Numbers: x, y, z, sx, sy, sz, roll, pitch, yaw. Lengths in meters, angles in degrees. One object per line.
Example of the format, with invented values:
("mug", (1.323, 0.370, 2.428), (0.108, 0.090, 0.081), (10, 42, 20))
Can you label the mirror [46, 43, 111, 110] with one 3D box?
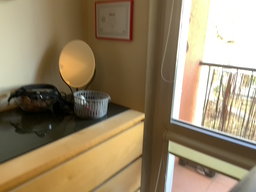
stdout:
("mirror", (-0.300, -0.140, 1.320), (0.280, 0.340, 0.260), (15, 22, 34))
